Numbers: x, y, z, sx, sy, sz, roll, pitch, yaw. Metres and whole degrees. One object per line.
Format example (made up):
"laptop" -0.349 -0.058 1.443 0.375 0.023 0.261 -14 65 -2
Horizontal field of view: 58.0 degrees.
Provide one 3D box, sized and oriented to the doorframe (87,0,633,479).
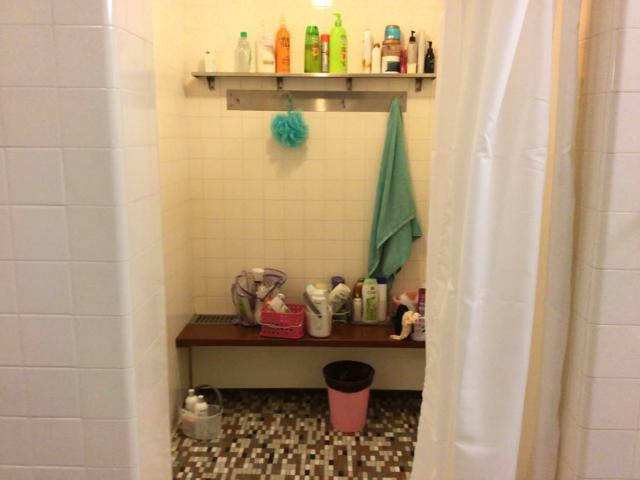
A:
"doorframe" 0.070 0.350 1.320 0.960 1.750 0.350 0 9 1
